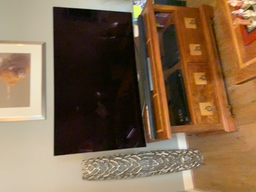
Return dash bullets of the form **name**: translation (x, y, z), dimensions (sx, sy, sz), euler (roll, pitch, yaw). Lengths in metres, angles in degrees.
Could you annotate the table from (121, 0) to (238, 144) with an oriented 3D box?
- **table**: translation (0.380, -0.160, 2.070), dimensions (0.830, 0.630, 1.120), euler (133, 134, -68)
